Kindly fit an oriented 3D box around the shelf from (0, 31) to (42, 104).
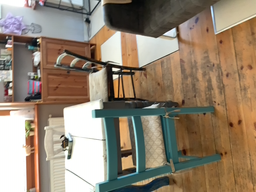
[{"bbox_3d":[-1.770,-0.380,2.850,0.140,1.110,0.970,-11,81,57],"label":"shelf"}]
